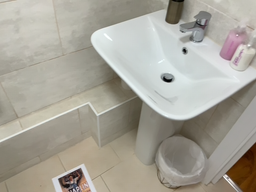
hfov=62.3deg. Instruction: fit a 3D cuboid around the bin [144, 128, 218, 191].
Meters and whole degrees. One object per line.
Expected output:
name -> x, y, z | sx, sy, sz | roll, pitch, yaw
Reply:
bin -> 0.300, 0.420, 1.280 | 0.260, 0.260, 0.280 | -23, 54, -24
